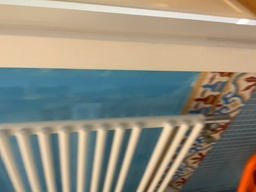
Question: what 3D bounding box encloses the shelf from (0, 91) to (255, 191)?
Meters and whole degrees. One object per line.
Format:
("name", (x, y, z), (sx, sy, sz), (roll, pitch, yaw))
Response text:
("shelf", (-0.370, 0.290, 0.660), (0.150, 1.310, 0.670), (-106, 21, -45))
